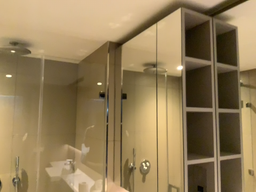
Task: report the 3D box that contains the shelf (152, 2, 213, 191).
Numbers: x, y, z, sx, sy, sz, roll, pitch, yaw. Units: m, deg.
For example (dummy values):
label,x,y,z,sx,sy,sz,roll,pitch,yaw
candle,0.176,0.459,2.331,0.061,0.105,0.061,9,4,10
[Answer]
label,x,y,z,sx,sy,sz,roll,pitch,yaw
shelf,0.290,0.070,1.190,0.220,1.080,0.230,3,-6,-26
